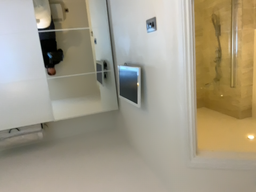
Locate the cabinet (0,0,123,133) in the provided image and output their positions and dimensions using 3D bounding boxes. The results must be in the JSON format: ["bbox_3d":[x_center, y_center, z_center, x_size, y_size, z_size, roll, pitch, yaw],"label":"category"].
[{"bbox_3d":[-0.970,-0.740,2.390,1.580,2.050,0.440,-10,-165,-17],"label":"cabinet"}]
